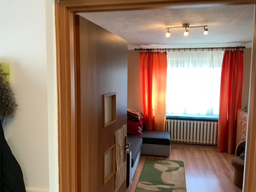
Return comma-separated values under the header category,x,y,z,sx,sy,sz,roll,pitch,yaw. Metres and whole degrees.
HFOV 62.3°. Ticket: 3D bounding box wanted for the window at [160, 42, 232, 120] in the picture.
category,x,y,z,sx,sy,sz,roll,pitch,yaw
window,1.630,-0.370,5.230,1.600,1.820,0.130,2,6,12
